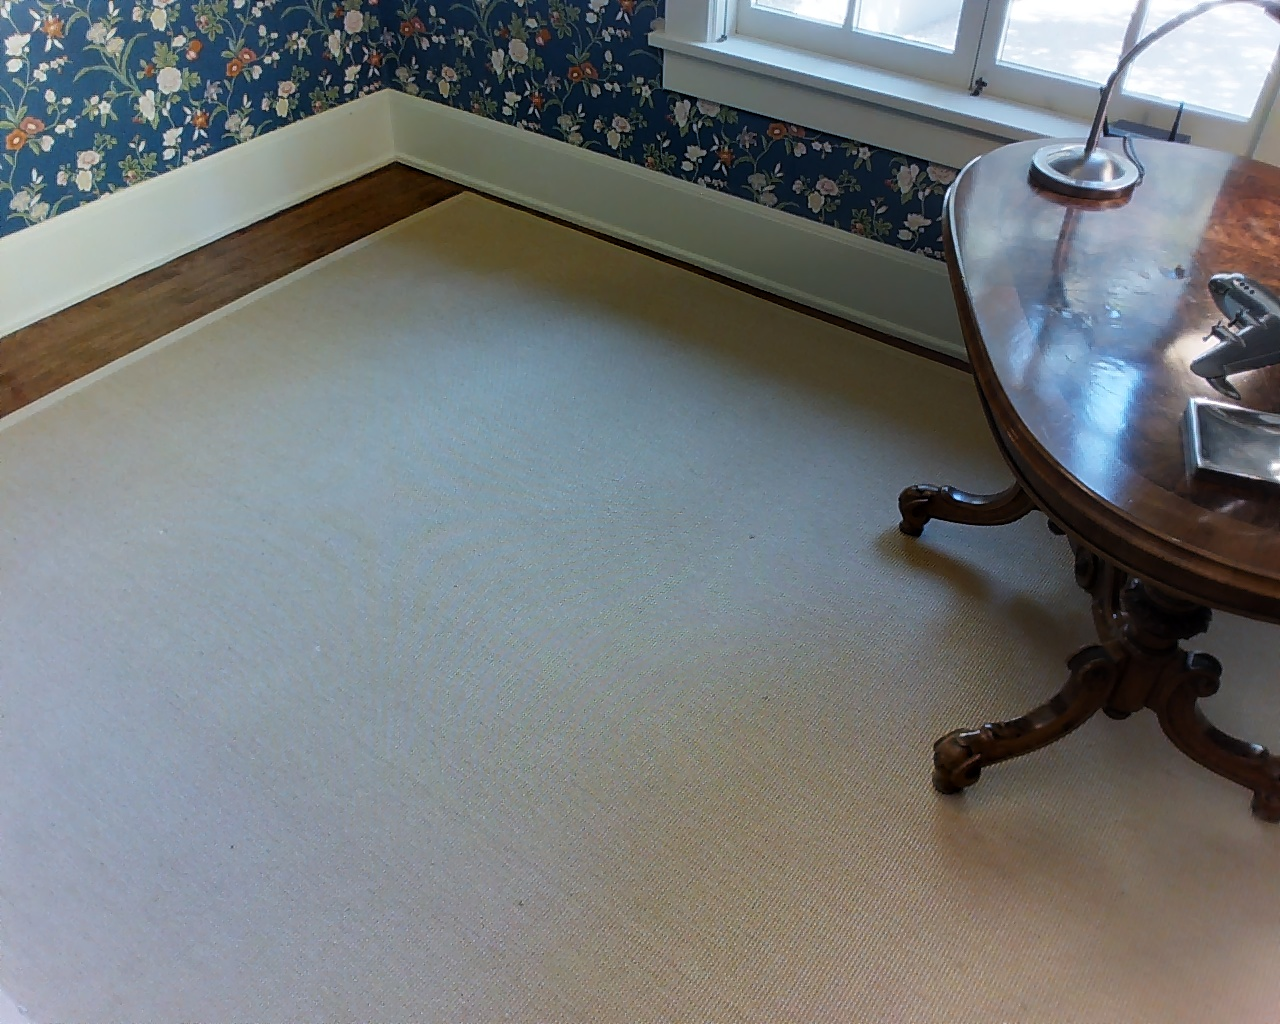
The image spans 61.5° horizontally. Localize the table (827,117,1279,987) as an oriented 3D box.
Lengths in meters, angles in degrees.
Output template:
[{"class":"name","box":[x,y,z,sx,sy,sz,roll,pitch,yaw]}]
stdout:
[{"class":"table","box":[0.830,-0.020,1.810,0.780,0.780,1.290,1,42,0]}]
